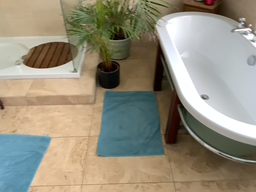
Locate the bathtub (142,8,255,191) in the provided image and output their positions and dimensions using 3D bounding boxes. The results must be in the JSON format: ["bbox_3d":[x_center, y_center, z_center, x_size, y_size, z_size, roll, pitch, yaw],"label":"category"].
[{"bbox_3d":[0.650,-0.150,1.820,0.810,0.610,1.710,-3,40,-3],"label":"bathtub"}]
